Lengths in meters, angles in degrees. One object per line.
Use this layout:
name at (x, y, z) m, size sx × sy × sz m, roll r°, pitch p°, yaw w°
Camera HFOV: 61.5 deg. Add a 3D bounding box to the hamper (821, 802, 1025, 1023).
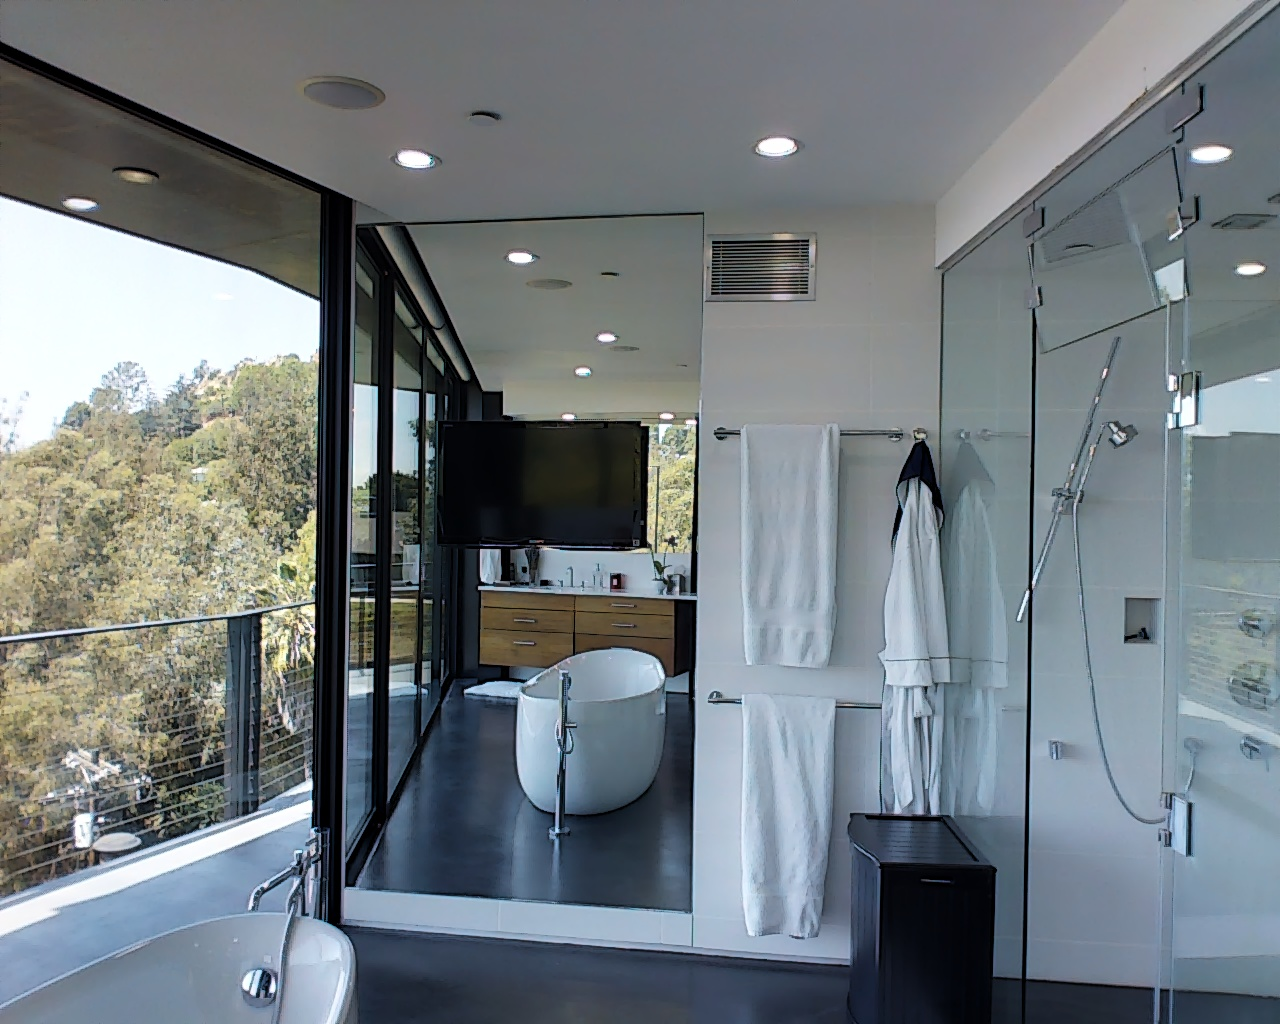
hamper at (0.850, 1.300, 3.350) m, size 0.450 × 0.610 × 0.670 m, roll 1°, pitch 0°, yaw -1°
